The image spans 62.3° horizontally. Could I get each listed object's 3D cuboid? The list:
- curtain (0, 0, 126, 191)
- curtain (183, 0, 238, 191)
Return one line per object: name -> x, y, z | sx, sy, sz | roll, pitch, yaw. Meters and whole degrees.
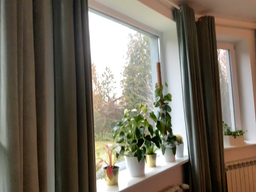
curtain -> -0.380, 0.200, 1.090 | 0.310, 2.850, 0.810 | -5, -4, 32
curtain -> 1.130, 0.180, 2.850 | 0.300, 2.870, 0.700 | -6, -5, 41
